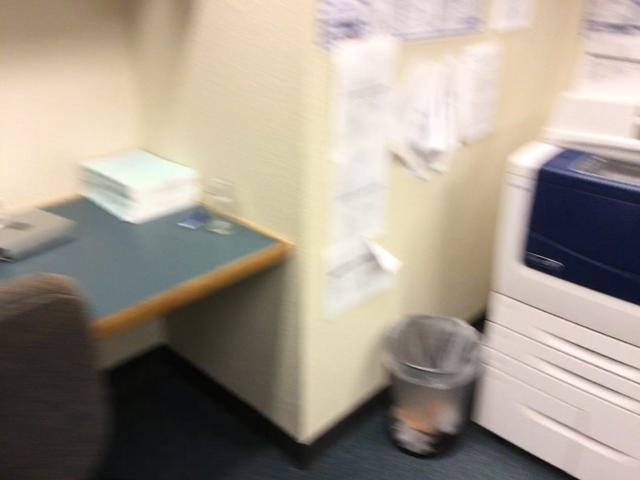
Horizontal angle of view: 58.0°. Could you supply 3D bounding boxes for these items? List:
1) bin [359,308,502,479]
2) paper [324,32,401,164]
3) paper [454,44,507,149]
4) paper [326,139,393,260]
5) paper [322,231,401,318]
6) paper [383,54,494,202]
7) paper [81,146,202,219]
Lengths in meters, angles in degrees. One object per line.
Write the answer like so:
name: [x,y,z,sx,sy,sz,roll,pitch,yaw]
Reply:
bin: [0.340,0.460,1.790,0.310,0.340,0.290,16,29,41]
paper: [0.110,-0.350,1.410,0.050,0.280,0.220,16,29,41]
paper: [0.490,-0.440,1.760,0.050,0.280,0.210,16,29,41]
paper: [0.110,-0.110,1.520,0.040,0.270,0.210,16,29,41]
paper: [0.120,0.090,1.600,0.070,0.150,0.250,16,29,41]
paper: [0.330,-0.320,1.590,0.130,0.340,0.330,16,29,41]
paper: [-0.530,-0.180,1.710,0.300,0.130,0.200,16,29,41]
